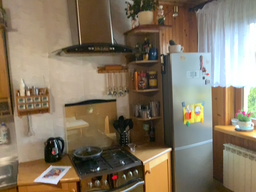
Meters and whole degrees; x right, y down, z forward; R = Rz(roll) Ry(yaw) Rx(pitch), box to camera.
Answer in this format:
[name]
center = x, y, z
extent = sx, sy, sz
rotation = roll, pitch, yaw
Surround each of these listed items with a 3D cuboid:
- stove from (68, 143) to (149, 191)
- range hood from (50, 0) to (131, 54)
[stove]
center = -0.230, 0.680, 2.150
extent = 0.650, 0.120, 0.620
rotation = -5, 7, -23
[range hood]
center = -0.380, -0.820, 2.110
extent = 0.710, 0.750, 0.350
rotation = -5, 7, -21
